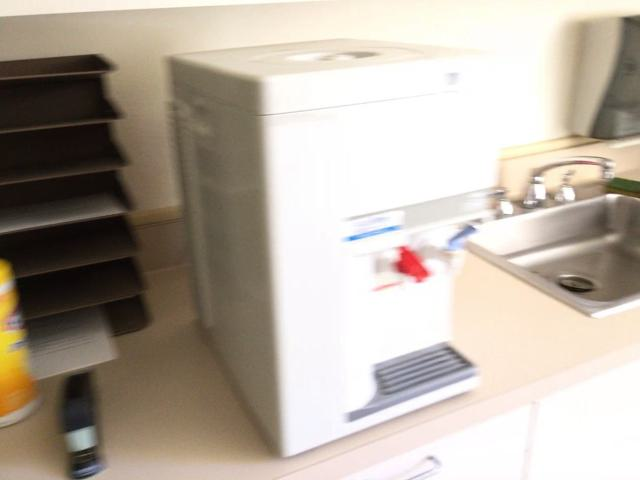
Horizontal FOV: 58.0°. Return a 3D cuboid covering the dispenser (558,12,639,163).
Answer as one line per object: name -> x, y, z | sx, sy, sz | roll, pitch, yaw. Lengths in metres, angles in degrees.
dispenser -> 0.840, -0.400, 1.460 | 0.330, 0.330, 0.240 | -10, 23, -21

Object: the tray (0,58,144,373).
tray -> -0.500, -0.050, 0.950 | 0.320, 0.450, 0.240 | -10, 23, -21
